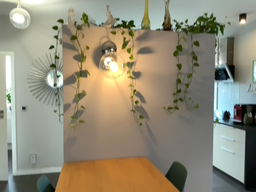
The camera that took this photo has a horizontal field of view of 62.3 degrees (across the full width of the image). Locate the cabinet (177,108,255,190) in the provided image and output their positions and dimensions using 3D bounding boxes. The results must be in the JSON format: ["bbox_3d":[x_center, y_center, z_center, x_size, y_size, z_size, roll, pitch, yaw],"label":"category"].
[{"bbox_3d":[1.790,0.860,4.290,0.640,0.950,2.230,0,4,-12],"label":"cabinet"}]
